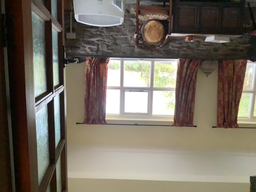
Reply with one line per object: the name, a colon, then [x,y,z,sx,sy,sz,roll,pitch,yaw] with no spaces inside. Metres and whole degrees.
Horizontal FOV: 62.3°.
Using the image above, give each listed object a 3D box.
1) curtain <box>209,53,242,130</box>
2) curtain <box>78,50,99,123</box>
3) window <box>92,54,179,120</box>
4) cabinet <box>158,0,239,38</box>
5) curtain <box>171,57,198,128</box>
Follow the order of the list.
curtain: [1.720,-0.070,3.770,0.360,1.330,0.170,2,-171,2]
curtain: [-0.720,-0.170,3.850,0.330,1.280,0.220,2,-171,1]
window: [0.120,-0.170,4.120,1.610,1.210,0.160,2,-171,0]
cabinet: [1.030,-1.220,3.260,1.040,0.560,0.550,2,-171,1]
curtain: [1.000,-0.060,3.800,0.350,1.260,0.160,2,-171,2]
